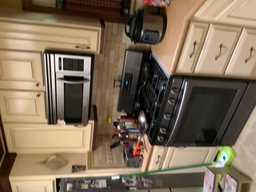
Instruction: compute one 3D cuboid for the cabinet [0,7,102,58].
[{"bbox_3d":[-0.730,-0.550,1.830,0.300,0.970,0.270,-107,23,-56],"label":"cabinet"}]
